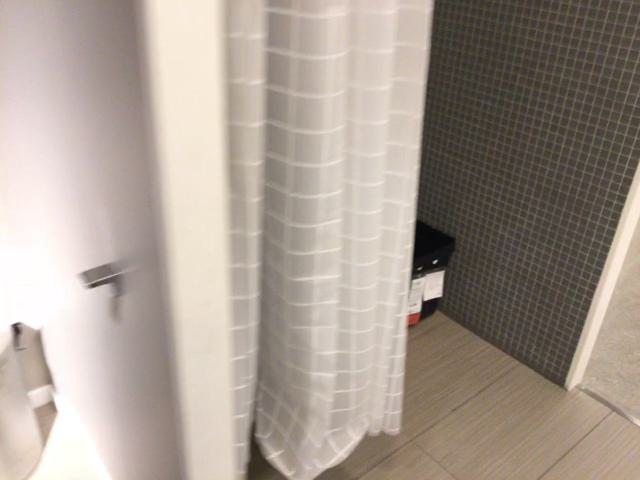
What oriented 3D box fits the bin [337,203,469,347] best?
[{"bbox_3d":[0.280,0.110,2.060,0.240,0.320,0.380,-23,37,-34],"label":"bin"}]
